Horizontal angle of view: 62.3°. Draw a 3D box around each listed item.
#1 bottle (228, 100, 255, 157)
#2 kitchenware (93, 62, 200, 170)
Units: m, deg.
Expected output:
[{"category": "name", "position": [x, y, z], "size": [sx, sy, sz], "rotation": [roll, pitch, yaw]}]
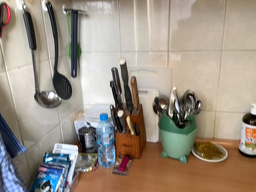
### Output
[{"category": "bottle", "position": [0.480, 0.130, 0.850], "size": [0.110, 0.200, 0.090], "rotation": [3, 20, 15]}, {"category": "kitchenware", "position": [0.080, 0.060, 0.850], "size": [0.350, 0.350, 0.220], "rotation": [2, 19, 12]}]
